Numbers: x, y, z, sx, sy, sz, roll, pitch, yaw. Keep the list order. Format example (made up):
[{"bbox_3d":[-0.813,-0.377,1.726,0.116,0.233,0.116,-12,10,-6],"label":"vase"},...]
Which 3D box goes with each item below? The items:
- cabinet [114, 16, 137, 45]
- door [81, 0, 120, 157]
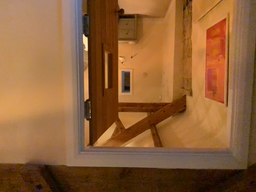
[{"bbox_3d":[-0.060,-1.680,5.490,0.540,0.630,0.380,2,-174,3],"label":"cabinet"},{"bbox_3d":[-0.170,-0.610,1.580,0.060,1.890,0.800,2,-174,9],"label":"door"}]
